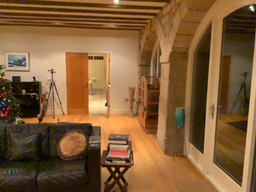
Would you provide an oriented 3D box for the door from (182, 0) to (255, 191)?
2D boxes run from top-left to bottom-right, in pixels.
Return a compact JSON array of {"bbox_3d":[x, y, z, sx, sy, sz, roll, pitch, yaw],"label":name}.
[{"bbox_3d":[1.230,0.120,2.520,0.150,2.440,2.560,0,8,-6],"label":"door"}]

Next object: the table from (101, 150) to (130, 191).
[{"bbox_3d":[-0.170,0.970,2.700,0.340,0.400,0.450,0,8,-6],"label":"table"}]
